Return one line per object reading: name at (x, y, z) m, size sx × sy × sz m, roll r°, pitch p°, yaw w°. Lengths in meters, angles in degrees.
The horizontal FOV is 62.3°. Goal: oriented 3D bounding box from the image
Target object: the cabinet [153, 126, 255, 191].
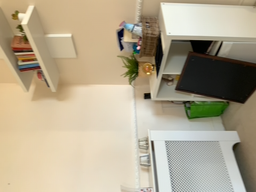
cabinet at (0.640, 0.750, 1.650) m, size 0.210 × 0.770 × 1.070 m, roll 94°, pitch 176°, yaw -49°
